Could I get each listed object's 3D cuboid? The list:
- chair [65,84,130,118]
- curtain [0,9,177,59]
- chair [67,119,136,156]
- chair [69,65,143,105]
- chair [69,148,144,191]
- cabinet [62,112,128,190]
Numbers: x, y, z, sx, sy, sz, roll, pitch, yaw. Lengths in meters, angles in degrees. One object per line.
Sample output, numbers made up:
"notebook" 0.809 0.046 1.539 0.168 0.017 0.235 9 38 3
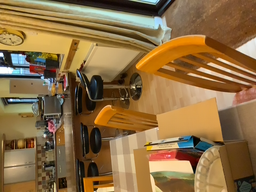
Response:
"chair" -0.490 0.080 3.400 0.390 0.940 0.450 151 116 -62
"curtain" -0.610 -0.580 2.060 0.350 2.370 0.160 148 118 -62
"chair" -0.400 0.600 3.220 0.450 0.940 0.410 173 96 -65
"chair" -0.320 -0.140 3.040 0.420 0.940 0.460 156 111 -64
"chair" -0.330 1.120 3.090 0.460 0.940 0.520 133 131 -56
"cabinet" -0.610 0.920 3.720 0.610 0.920 1.130 145 121 -61
